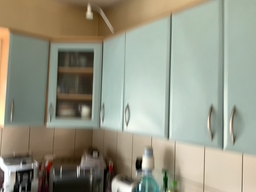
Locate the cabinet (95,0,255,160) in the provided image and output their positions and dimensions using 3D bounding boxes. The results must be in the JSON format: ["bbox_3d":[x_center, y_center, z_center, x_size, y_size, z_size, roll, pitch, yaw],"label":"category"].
[{"bbox_3d":[0.300,-0.110,1.300,0.330,0.730,1.290,5,-3,-40],"label":"cabinet"}]

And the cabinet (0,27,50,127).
[{"bbox_3d":[-0.880,-0.130,1.760,0.310,0.730,0.330,4,-3,-39],"label":"cabinet"}]

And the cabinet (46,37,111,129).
[{"bbox_3d":[-0.420,-0.100,1.950,0.420,0.740,0.470,2,-3,6],"label":"cabinet"}]
